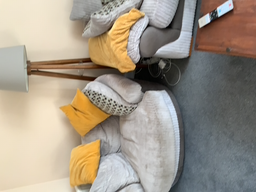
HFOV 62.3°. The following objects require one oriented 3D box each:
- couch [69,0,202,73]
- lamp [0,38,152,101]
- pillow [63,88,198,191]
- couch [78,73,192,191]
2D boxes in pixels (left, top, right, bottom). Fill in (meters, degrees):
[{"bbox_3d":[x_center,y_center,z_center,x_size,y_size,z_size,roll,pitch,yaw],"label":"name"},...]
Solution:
[{"bbox_3d":[-0.020,-0.840,2.050,1.090,0.850,1.050,30,119,58],"label":"couch"},{"bbox_3d":[-0.580,-0.290,2.270,0.420,1.680,0.520,23,113,59],"label":"lamp"},{"bbox_3d":[0.050,0.460,2.740,0.620,1.600,1.020,18,109,61],"label":"pillow"},{"bbox_3d":[-0.020,0.440,2.340,1.250,0.700,1.340,8,100,62],"label":"couch"}]
